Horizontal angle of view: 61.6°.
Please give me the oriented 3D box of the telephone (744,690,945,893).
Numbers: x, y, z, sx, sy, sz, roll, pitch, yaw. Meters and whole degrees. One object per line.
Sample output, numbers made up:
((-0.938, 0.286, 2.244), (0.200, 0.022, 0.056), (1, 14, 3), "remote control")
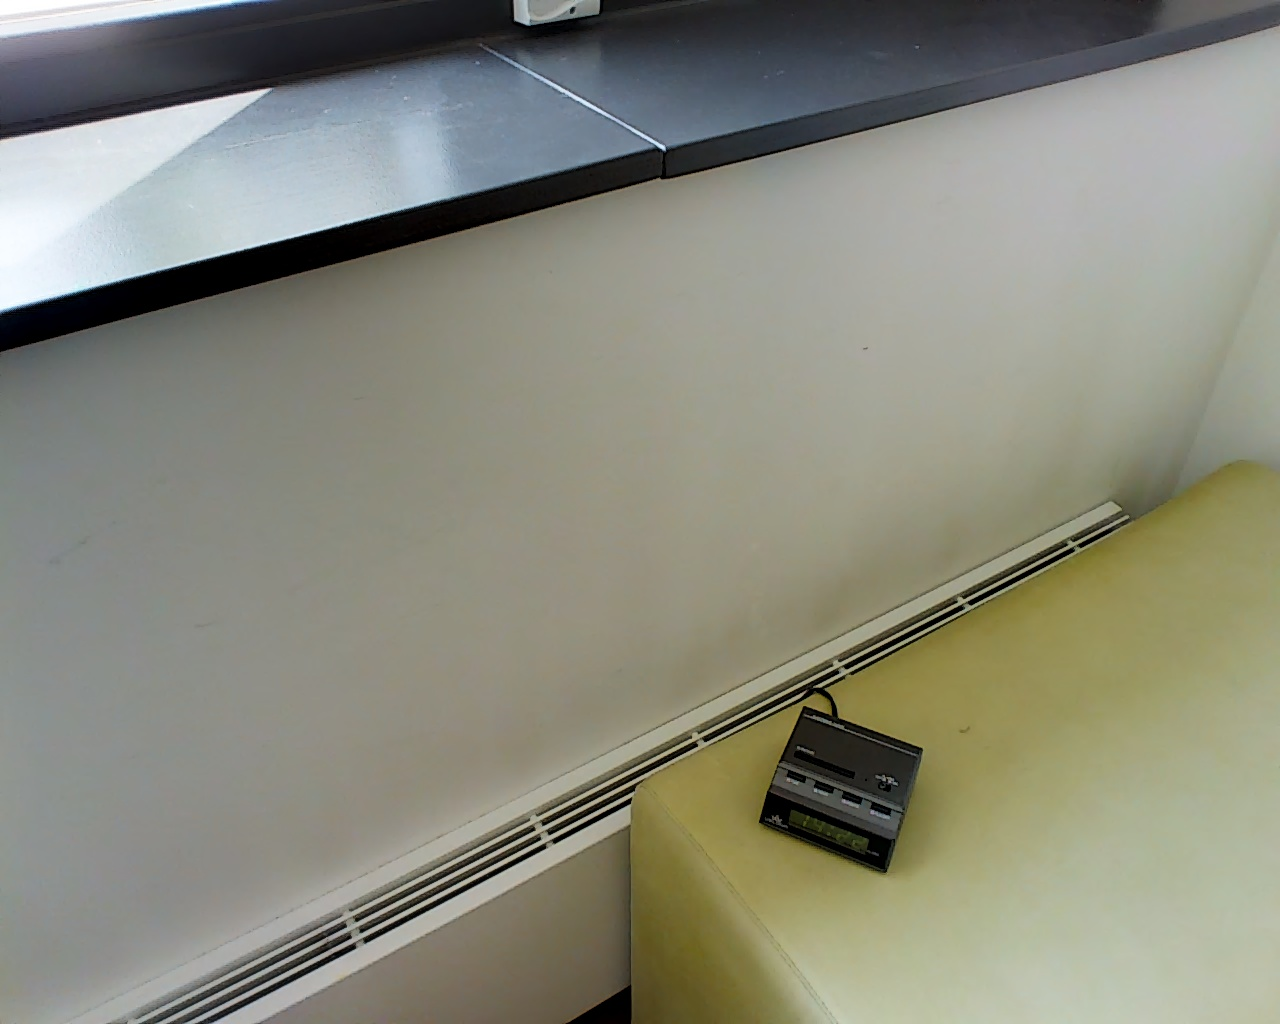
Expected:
((0.180, 0.240, 0.940), (0.140, 0.050, 0.130), (15, 43, 16), "telephone")

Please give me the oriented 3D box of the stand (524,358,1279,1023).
((0.520, 0.410, 1.210), (1.070, 0.650, 0.670), (-22, 46, -24), "stand")
